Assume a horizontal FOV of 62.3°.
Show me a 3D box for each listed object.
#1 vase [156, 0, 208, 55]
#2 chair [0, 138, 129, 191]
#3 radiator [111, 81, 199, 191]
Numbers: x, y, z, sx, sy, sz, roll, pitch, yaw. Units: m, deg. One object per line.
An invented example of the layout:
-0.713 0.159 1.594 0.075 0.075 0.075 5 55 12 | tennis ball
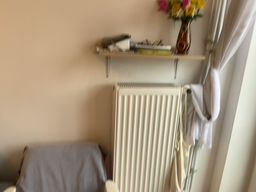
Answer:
0.300 -0.410 1.240 0.210 0.300 0.240 4 16 -1 | vase
-0.380 0.710 1.210 0.640 0.700 0.600 0 17 -13 | chair
0.140 0.450 1.460 0.470 1.070 0.180 1 16 -10 | radiator
